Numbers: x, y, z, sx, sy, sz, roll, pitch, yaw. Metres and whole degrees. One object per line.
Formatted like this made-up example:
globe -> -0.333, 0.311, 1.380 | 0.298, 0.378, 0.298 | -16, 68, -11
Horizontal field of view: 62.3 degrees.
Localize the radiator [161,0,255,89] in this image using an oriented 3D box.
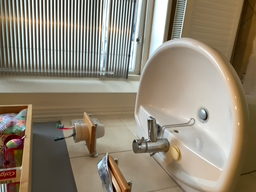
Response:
radiator -> 0.520, -0.460, 1.200 | 0.160, 0.520, 0.830 | -139, 53, -60
